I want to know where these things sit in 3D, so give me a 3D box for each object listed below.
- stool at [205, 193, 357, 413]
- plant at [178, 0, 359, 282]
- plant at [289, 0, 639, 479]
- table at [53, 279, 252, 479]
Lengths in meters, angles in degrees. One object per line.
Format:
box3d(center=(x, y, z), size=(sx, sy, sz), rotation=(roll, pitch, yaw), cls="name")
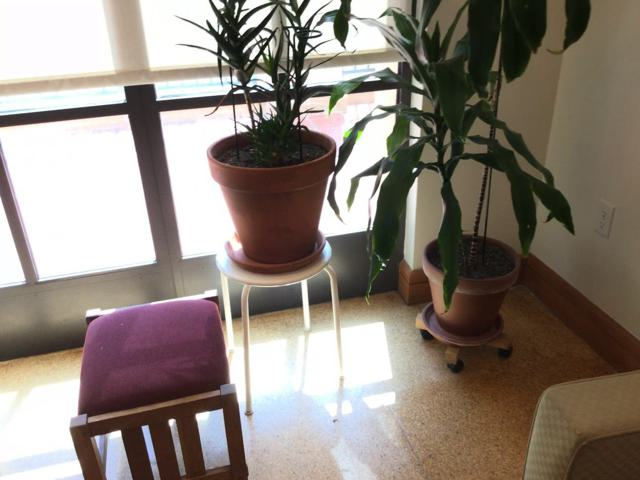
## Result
box3d(center=(-0.140, 0.180, 1.930), size=(0.390, 0.490, 0.500), rotation=(-8, 26, -12), cls="stool")
box3d(center=(-0.170, -0.460, 1.670), size=(0.390, 0.940, 0.600), rotation=(-8, 26, -12), cls="plant")
box3d(center=(0.360, -0.340, 1.560), size=(0.670, 1.720, 0.960), rotation=(-8, 26, -12), cls="plant")
box3d(center=(-0.440, 0.450, 1.620), size=(0.410, 0.440, 0.500), rotation=(-8, 26, -12), cls="table")
